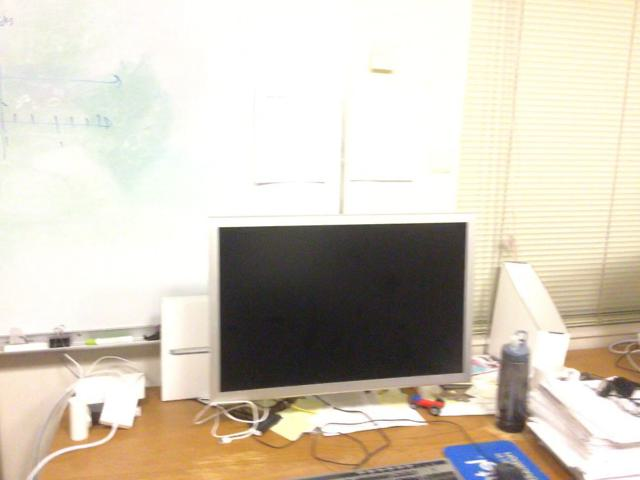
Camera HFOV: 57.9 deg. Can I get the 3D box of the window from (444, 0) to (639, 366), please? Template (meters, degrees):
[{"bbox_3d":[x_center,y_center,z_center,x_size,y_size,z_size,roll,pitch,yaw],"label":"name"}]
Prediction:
[{"bbox_3d":[1.400,-0.300,1.980,1.990,1.250,0.190,-3,11,-14],"label":"window"}]

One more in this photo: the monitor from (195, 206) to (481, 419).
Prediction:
[{"bbox_3d":[0.050,0.160,1.440,0.680,0.450,0.140,-3,11,-14],"label":"monitor"}]

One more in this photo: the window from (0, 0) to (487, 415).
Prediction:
[{"bbox_3d":[-0.620,-0.150,1.500,2.230,1.180,0.110,-3,11,-14],"label":"window"}]
